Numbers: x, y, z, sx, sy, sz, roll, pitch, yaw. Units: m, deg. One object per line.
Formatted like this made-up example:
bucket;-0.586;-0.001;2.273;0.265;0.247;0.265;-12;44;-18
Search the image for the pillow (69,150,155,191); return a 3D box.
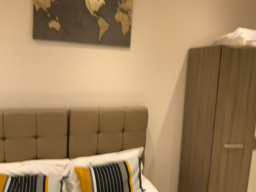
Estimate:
pillow;-0.130;0.740;1.870;0.670;0.350;0.140;29;21;-29
